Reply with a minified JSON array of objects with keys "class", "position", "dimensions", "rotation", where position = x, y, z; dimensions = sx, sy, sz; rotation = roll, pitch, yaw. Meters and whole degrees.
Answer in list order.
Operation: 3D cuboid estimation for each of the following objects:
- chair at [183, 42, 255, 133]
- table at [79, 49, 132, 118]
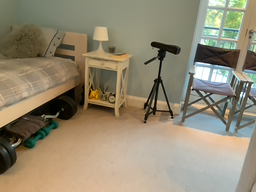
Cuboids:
[{"class":"chair","position":[1.000,-0.130,2.520],"dimensions":[0.530,0.890,0.540],"rotation":[10,20,11]},{"class":"table","position":[-0.270,-0.170,2.570],"dimensions":[0.480,0.680,0.430],"rotation":[10,20,11]}]
